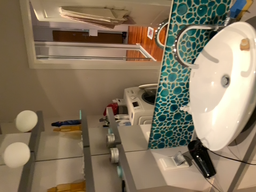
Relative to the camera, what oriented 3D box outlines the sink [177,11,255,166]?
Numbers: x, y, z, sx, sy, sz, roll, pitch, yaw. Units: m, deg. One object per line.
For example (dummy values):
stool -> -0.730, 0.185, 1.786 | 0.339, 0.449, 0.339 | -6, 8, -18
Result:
sink -> 0.440, -0.040, 1.000 | 0.380, 0.130, 0.610 | -115, 28, -57
